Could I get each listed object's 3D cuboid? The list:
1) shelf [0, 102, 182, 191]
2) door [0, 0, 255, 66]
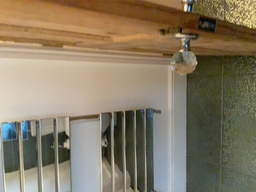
[{"bbox_3d":[-0.280,0.440,1.180,0.140,1.500,0.710,3,96,57],"label":"shelf"},{"bbox_3d":[-0.130,-0.210,0.740,0.760,2.040,0.100,5,97,57],"label":"door"}]
